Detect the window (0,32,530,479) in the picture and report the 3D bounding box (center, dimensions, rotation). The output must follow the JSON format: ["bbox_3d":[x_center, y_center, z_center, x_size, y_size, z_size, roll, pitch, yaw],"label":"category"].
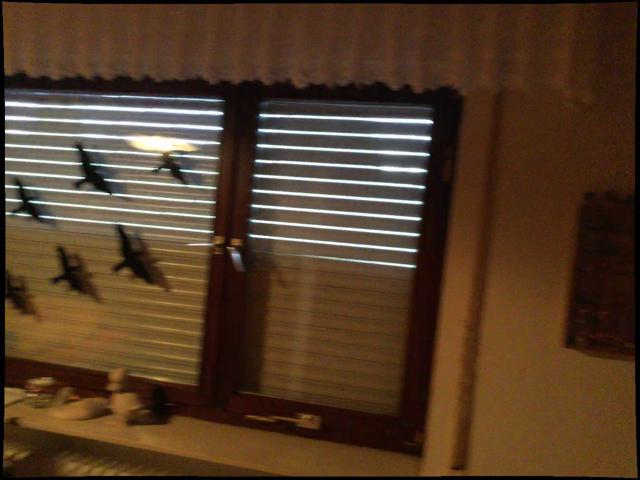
[{"bbox_3d":[-0.480,0.040,2.010,2.108,1.351,0.420,6,4,12],"label":"window"}]

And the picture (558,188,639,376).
[{"bbox_3d":[0.979,0.130,1.540,0.589,0.490,0.050,6,4,12],"label":"picture"}]
